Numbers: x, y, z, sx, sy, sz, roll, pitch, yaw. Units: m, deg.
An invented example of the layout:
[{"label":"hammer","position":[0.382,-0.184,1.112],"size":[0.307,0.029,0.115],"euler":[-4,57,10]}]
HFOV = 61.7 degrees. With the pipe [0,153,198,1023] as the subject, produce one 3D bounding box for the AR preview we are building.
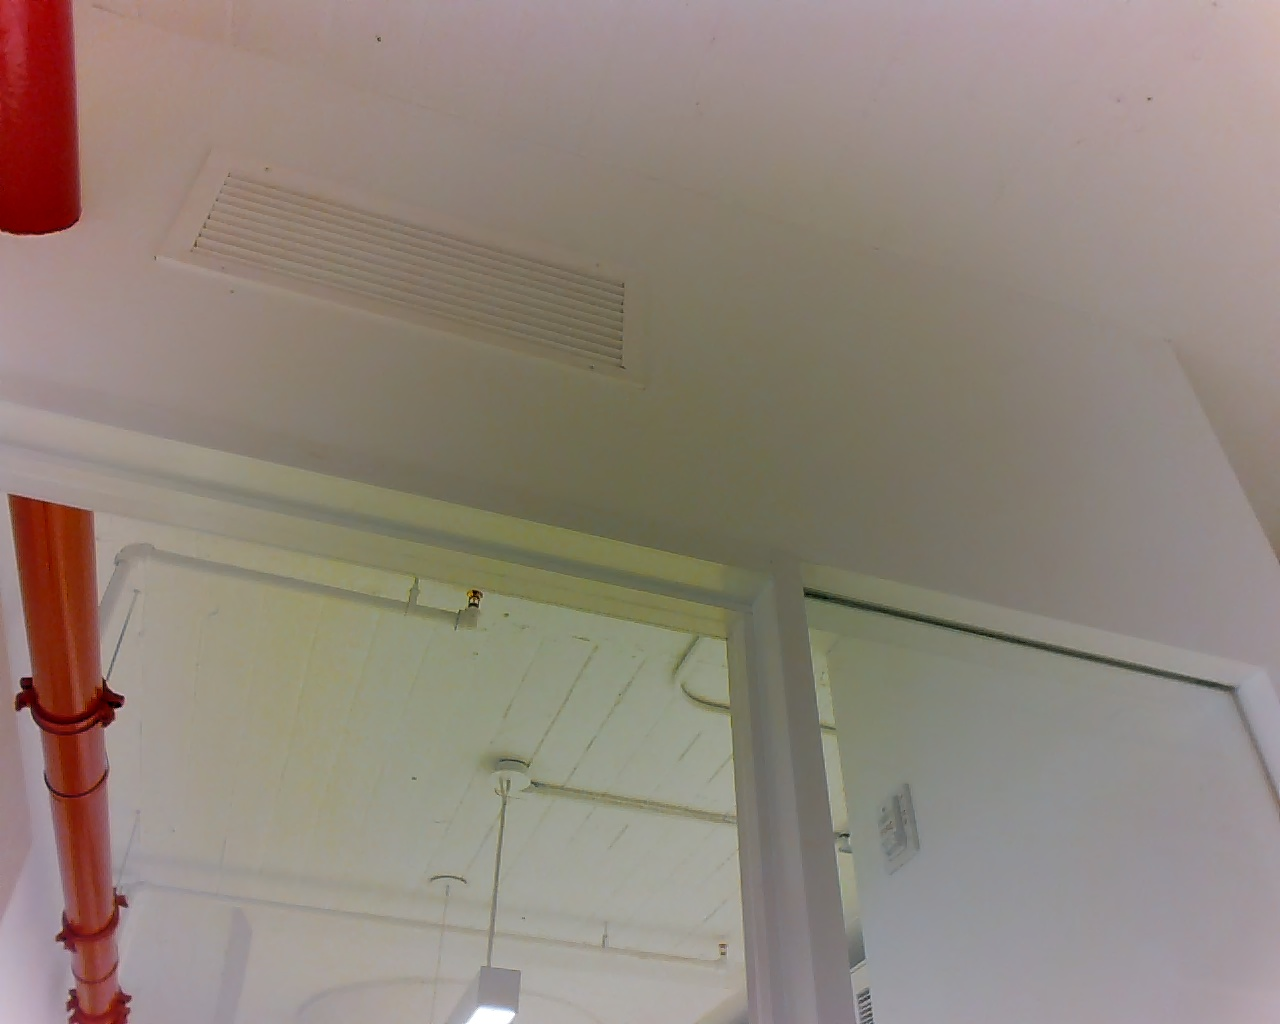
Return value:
[{"label":"pipe","position":[-1.559,1.171,3.080],"size":[0.240,0.380,4.791],"euler":[14,-44,-14]}]
